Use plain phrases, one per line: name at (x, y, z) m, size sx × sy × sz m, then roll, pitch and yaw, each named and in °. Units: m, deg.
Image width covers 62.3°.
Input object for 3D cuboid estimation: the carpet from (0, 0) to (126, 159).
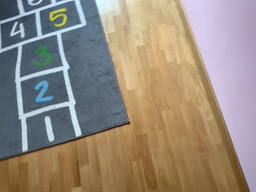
carpet at (-0.720, -0.400, 1.540) m, size 1.040 × 0.060 × 1.550 m, roll -16°, pitch 70°, yaw -2°
